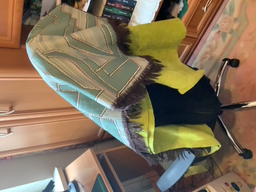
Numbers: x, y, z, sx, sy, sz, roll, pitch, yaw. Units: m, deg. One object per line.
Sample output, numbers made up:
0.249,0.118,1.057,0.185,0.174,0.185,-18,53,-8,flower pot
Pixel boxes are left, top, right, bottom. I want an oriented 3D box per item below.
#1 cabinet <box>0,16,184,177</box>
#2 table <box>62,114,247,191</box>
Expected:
-0.690,0.030,1.520,0.540,2.090,0.950,54,133,37,cabinet
0.250,0.820,1.330,1.230,0.870,0.660,55,133,36,table
